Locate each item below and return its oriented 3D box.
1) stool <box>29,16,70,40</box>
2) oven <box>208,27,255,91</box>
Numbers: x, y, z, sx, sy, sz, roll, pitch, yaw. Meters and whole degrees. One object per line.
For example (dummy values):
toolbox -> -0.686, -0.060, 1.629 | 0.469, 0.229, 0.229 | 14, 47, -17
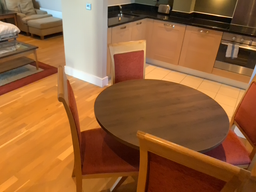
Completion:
stool -> -1.970, -1.750, 5.380 | 0.470, 0.400, 0.820 | 21, 34, 25
oven -> 1.870, -0.670, 3.660 | 0.600, 0.830, 0.640 | 21, 33, 25
